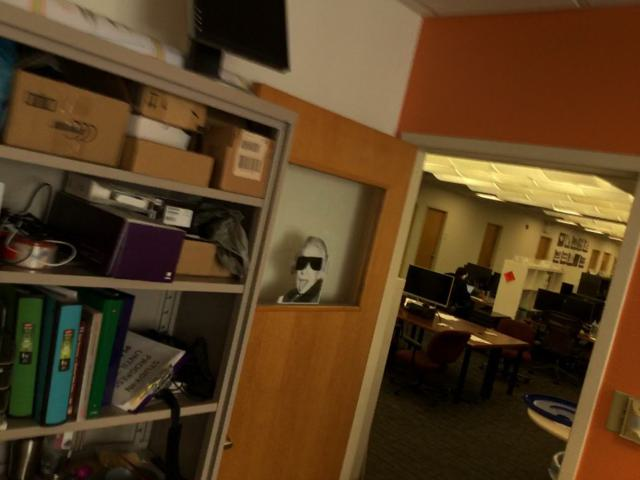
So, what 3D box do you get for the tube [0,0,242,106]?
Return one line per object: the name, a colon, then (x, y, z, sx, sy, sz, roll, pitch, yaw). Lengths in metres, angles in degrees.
tube: (-0.630, -0.490, 1.290, 0.290, 0.170, 0.930, 13, 6, 40)
